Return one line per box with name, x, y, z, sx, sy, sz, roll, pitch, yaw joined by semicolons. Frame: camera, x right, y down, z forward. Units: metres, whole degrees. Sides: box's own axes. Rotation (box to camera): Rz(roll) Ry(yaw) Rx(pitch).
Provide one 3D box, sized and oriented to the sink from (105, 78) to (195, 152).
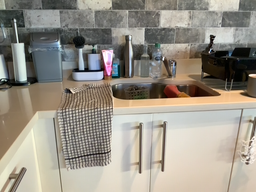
sink;0.080;0.070;1.170;0.390;0.240;0.440;-2;18;-7
